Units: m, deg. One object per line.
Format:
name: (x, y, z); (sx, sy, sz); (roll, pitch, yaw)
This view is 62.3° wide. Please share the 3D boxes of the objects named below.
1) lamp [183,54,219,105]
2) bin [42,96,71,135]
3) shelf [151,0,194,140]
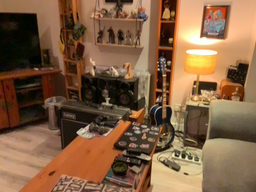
lamp: (0.750, -0.180, 2.200); (0.280, 0.450, 0.260); (8, 21, 18)
bin: (-0.910, 0.240, 2.710); (0.290, 0.390, 0.240); (-8, 22, -24)
shelf: (0.500, -0.480, 2.370); (0.310, 2.030, 0.260); (8, 21, 17)
